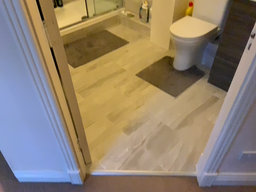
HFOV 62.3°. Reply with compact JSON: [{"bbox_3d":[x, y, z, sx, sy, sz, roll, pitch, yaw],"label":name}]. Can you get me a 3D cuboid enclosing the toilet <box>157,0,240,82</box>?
[{"bbox_3d":[0.660,-0.650,2.050,0.600,0.770,0.380,-31,52,-29],"label":"toilet"}]
